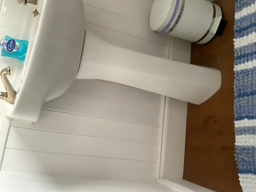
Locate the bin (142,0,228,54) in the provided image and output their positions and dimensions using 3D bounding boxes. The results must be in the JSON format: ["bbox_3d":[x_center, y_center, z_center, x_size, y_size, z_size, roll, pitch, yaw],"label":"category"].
[{"bbox_3d":[0.270,-0.370,1.020,0.210,0.330,0.200,161,118,-67],"label":"bin"}]
